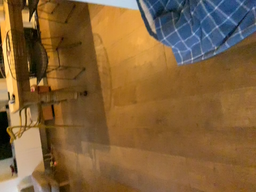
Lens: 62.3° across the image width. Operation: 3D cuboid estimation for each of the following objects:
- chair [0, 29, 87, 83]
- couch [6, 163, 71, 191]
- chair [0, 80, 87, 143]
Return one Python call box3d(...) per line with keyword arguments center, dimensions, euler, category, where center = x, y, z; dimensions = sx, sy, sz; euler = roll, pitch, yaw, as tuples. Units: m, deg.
box3d(center=(-0.990, -0.430, 2.400), dimensions=(0.470, 0.860, 0.440), euler=(-12, 86, 56), category="chair")
box3d(center=(-1.540, 1.790, 3.660), dimensions=(0.980, 0.830, 0.860), euler=(-10, 88, 56), category="couch")
box3d(center=(-1.070, 0.160, 2.590), dimensions=(0.580, 0.900, 0.570), euler=(-8, 89, 56), category="chair")
